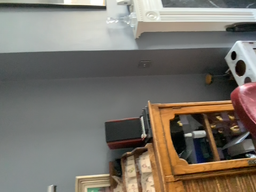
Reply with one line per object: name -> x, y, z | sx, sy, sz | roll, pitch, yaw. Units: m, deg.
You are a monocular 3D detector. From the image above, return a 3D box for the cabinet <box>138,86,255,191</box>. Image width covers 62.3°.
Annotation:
cabinet -> 0.740, 0.450, 1.360 | 0.440, 1.180, 0.920 | 105, 159, -61
